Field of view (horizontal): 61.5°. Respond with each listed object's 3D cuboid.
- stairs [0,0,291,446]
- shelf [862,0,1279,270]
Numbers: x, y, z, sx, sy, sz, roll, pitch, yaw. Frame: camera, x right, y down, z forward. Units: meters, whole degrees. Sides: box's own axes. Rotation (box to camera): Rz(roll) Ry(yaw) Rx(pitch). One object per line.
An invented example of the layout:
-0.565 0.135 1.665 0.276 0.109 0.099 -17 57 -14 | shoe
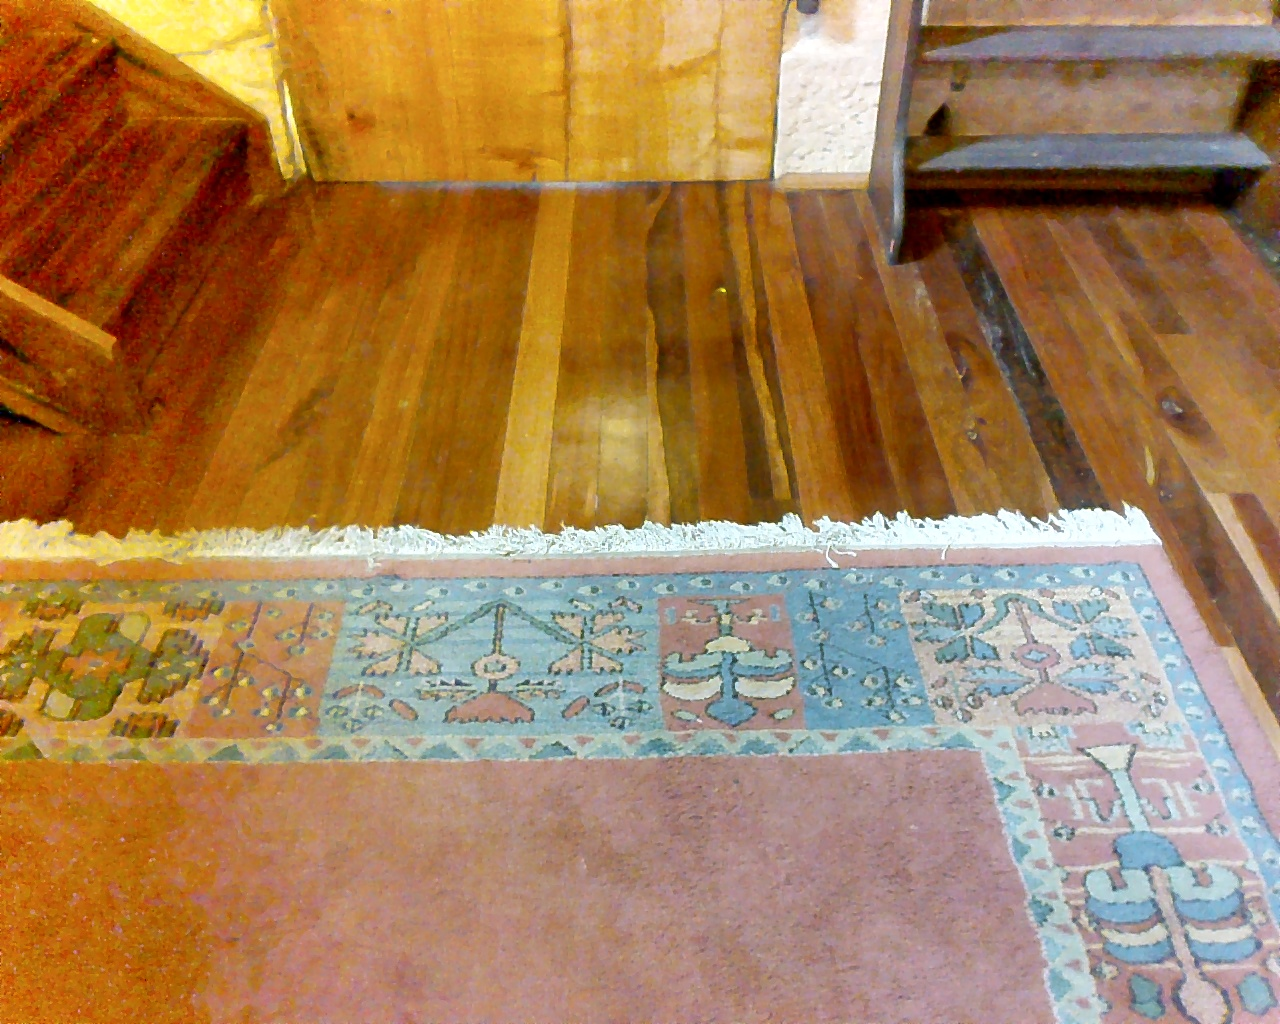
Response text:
-1.160 -0.660 2.020 0.650 0.640 0.920 0 41 0 | stairs
0.970 -0.970 2.090 0.900 0.910 0.360 0 41 0 | shelf
